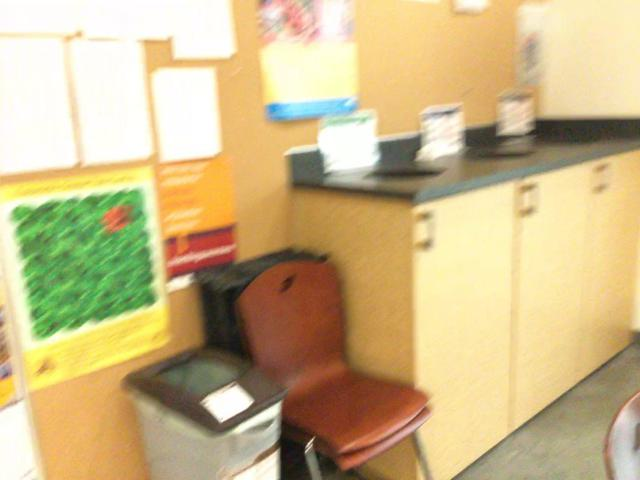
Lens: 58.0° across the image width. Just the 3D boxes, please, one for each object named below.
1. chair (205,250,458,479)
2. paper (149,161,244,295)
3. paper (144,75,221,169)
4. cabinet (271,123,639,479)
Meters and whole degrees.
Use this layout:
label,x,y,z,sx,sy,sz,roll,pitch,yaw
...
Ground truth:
label,x,y,z,sx,sy,sz,roll,pitch,yaw
chair,0.040,0.510,1.960,0.490,0.850,0.620,-13,10,-41
paper,-0.420,-0.050,2.010,0.290,0.420,0.060,-13,12,-41
paper,-0.450,-0.390,1.910,0.220,0.290,0.050,-13,12,-41
cabinet,0.860,0.140,2.760,2.100,1.260,0.610,-12,7,-41
